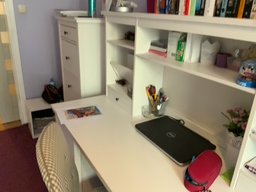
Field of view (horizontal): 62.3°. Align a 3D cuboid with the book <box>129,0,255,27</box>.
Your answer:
[{"bbox_3d":[0.340,-0.470,0.990,0.200,0.230,0.880,-11,26,-32],"label":"book"}]

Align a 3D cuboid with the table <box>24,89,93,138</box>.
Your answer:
[{"bbox_3d":[-0.840,0.190,2.610,0.720,0.350,0.350,-11,26,-31],"label":"table"}]

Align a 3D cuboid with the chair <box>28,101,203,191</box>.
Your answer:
[{"bbox_3d":[-0.090,0.550,1.030,0.550,0.910,0.460,-3,22,-15],"label":"chair"}]
